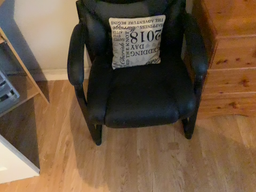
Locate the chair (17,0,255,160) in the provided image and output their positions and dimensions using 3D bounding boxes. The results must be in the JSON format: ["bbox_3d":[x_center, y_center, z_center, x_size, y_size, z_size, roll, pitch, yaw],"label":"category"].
[{"bbox_3d":[0.050,-0.170,1.150,0.660,0.880,0.710,-2,52,4],"label":"chair"}]
